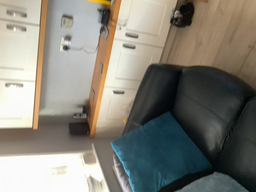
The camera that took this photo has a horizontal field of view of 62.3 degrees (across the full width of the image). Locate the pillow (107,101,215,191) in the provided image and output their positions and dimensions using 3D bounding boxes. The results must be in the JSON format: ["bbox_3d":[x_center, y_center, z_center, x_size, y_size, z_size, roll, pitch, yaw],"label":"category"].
[{"bbox_3d":[0.190,0.330,1.440,0.560,0.500,0.170,50,161,55],"label":"pillow"}]

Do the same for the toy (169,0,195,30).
[{"bbox_3d":[0.530,-0.800,2.100,0.110,0.150,0.240,47,129,55],"label":"toy"}]
